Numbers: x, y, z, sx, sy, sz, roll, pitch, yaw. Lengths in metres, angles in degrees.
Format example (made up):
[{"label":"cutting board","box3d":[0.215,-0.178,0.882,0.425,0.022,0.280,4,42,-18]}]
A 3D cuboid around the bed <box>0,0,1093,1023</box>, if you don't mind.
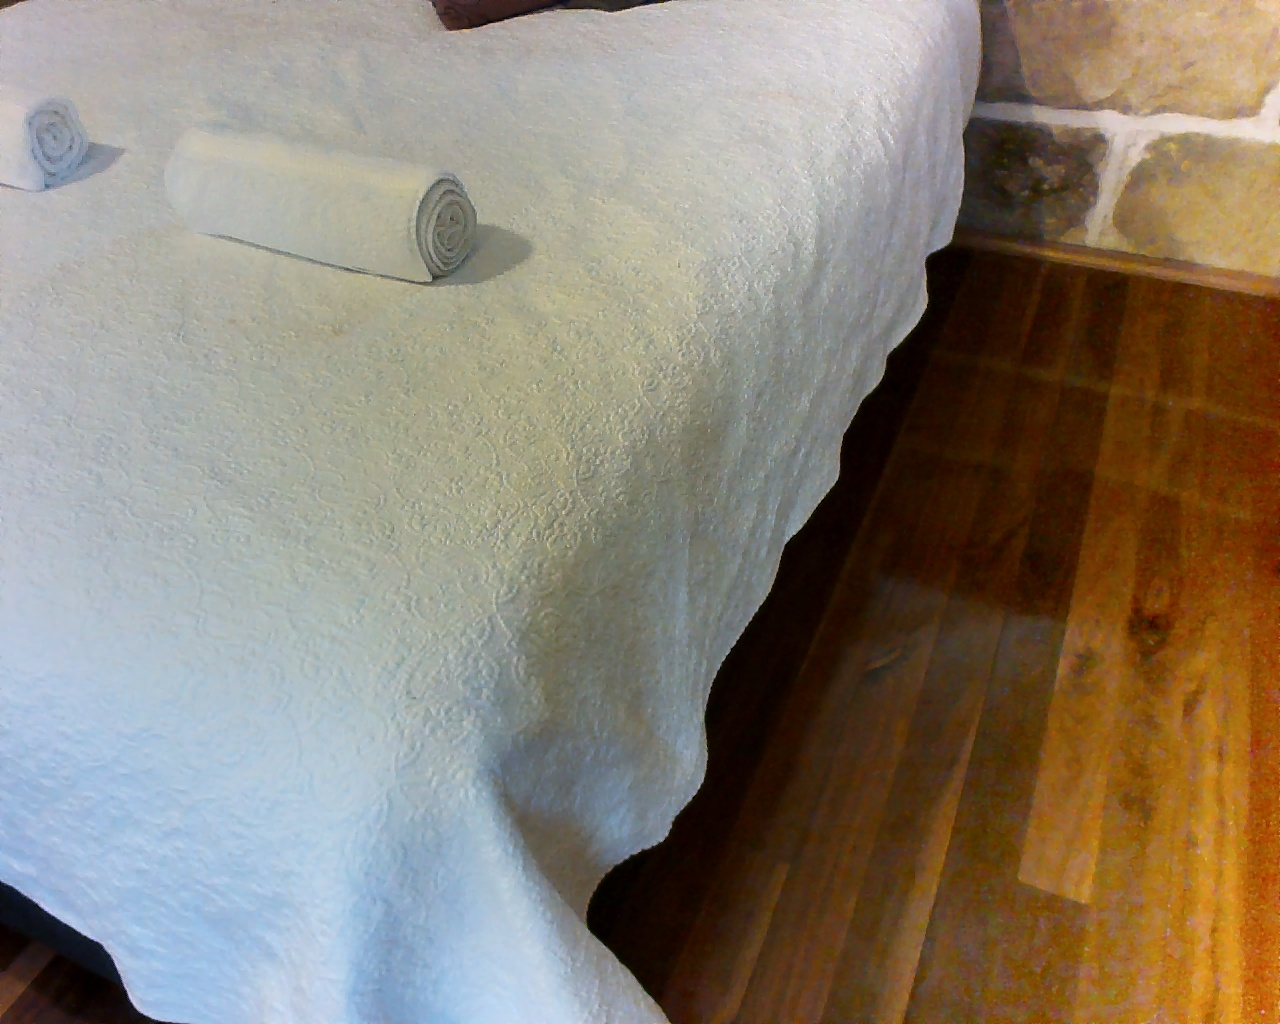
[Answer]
[{"label":"bed","box3d":[-0.430,-0.390,1.660,1.820,0.630,2.210,16,45,18]}]
